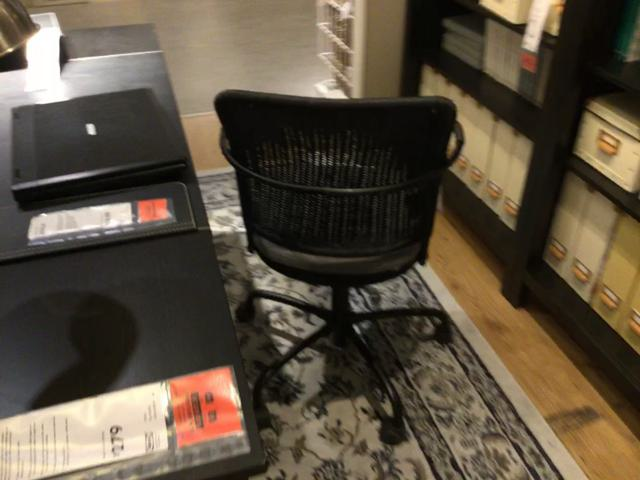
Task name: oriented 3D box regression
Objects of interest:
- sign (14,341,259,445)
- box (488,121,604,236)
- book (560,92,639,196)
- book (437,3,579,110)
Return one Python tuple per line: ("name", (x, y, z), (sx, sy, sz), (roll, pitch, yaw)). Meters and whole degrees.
("sign", (-0.190, 0.160, 0.620), (0.240, 0.020, 0.070), (-8, 36, -11))
("box", (0.700, -0.190, 1.820), (0.260, 0.320, 0.110), (-8, 36, -11))
("book", (0.760, -0.240, 1.400), (0.240, 0.170, 0.180), (-8, 36, -11))
("book", (0.580, -0.590, 1.840), (0.300, 0.230, 0.280), (-8, 36, -11))
